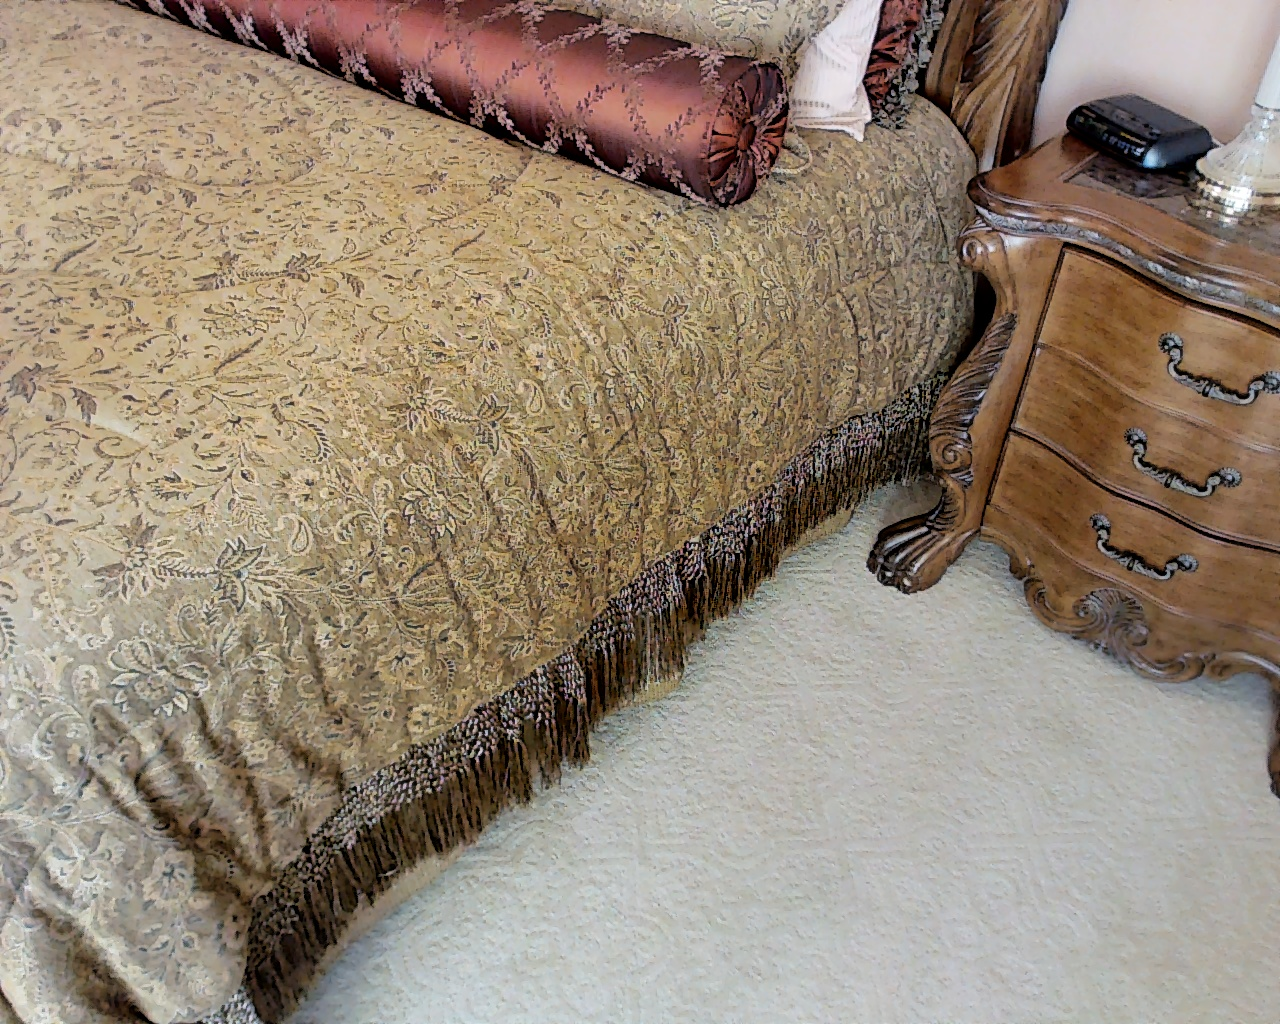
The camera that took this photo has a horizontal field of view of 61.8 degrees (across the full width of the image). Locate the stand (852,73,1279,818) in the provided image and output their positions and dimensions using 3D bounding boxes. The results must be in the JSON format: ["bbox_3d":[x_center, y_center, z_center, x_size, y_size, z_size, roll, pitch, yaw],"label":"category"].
[{"bbox_3d":[1.030,-0.120,1.880,1.010,0.880,0.610,31,49,30],"label":"stand"}]
